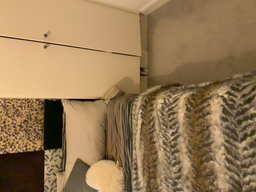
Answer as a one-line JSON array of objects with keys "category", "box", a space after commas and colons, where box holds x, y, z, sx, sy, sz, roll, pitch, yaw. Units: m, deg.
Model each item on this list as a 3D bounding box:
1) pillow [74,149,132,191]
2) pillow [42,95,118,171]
[{"category": "pillow", "box": [-0.180, 0.690, 1.660, 0.170, 0.310, 0.400, -33, 13, 29]}, {"category": "pillow", "box": [-0.410, 0.310, 1.870, 0.480, 0.410, 0.190, -48, 19, -22]}]
